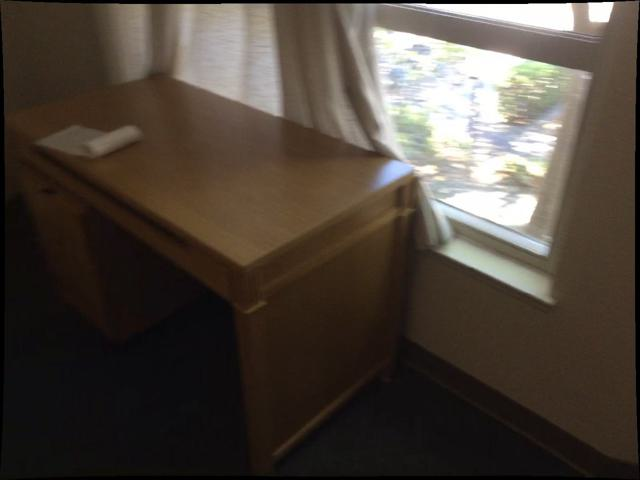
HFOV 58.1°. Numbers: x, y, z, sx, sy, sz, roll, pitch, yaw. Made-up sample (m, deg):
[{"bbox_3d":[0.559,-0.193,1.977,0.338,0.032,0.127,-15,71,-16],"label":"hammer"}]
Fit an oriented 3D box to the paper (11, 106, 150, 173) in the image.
[{"bbox_3d":[-0.669,-0.290,1.630,0.290,0.070,0.210,9,37,11],"label":"paper"}]
